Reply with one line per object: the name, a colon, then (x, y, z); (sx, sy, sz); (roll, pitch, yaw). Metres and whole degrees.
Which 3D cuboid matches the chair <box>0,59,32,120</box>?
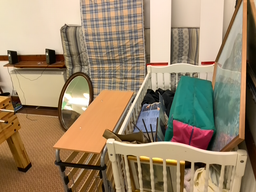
chair: (-2.030, -0.120, 3.420); (0.440, 0.800, 0.520); (6, 29, 21)
